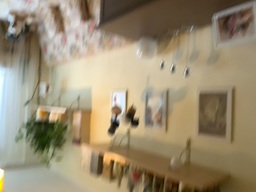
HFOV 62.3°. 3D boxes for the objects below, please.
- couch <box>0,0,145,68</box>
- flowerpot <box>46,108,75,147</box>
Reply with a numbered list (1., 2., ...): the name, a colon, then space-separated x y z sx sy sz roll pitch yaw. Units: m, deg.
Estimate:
1. couch: -0.940 -0.960 2.320 1.050 0.960 2.080 4 177 -43
2. flowerpot: -0.860 0.390 2.700 0.260 0.460 0.220 4 177 -42
